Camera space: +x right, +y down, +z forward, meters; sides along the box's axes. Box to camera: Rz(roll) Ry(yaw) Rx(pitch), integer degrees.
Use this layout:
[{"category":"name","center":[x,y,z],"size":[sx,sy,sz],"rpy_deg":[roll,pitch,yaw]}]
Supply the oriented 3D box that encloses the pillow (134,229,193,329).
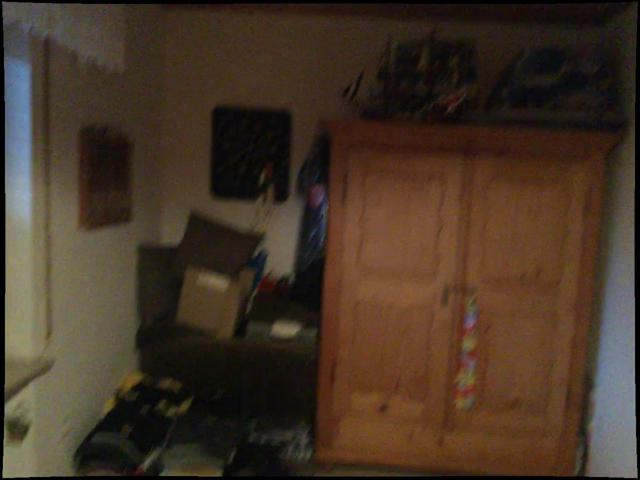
[{"category":"pillow","center":[-0.849,0.200,3.170],"size":[0.180,0.460,0.400],"rpy_deg":[4,9,4]}]

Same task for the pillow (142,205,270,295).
[{"category":"pillow","center":[-0.609,0.040,3.160],"size":[0.599,0.390,0.370],"rpy_deg":[4,9,4]}]
